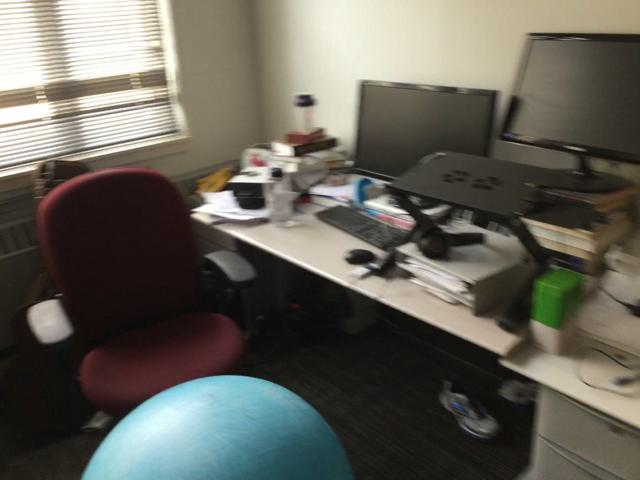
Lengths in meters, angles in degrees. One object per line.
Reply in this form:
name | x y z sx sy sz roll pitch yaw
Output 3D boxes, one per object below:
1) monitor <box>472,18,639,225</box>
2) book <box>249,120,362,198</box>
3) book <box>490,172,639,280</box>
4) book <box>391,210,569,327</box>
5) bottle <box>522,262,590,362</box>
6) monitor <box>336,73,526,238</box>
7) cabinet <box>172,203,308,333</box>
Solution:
monitor | 0.740 -0.360 1.670 0.280 0.500 0.510 -20 24 -38
book | -0.060 -0.370 2.550 0.390 0.250 0.280 -20 24 -38
book | 0.750 -0.060 1.770 0.290 0.210 0.330 -20 24 -38
book | 0.460 0.060 1.670 0.370 0.160 0.340 -20 24 -38
bottle | 0.570 0.170 1.400 0.120 0.190 0.100 -20 24 -38
monitor | 0.390 -0.340 2.140 0.260 0.500 0.640 -20 24 -38
cabinet | -0.380 0.110 2.780 0.410 0.430 0.460 -20 24 -38
